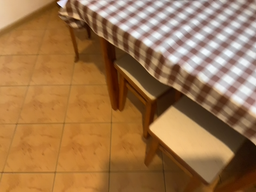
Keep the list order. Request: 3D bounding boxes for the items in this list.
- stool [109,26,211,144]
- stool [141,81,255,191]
[{"bbox_3d":[0.150,-0.040,1.200,0.360,0.490,0.310,-31,62,-18],"label":"stool"},{"bbox_3d":[0.290,0.250,1.010,0.330,0.490,0.290,-38,64,-22],"label":"stool"}]
